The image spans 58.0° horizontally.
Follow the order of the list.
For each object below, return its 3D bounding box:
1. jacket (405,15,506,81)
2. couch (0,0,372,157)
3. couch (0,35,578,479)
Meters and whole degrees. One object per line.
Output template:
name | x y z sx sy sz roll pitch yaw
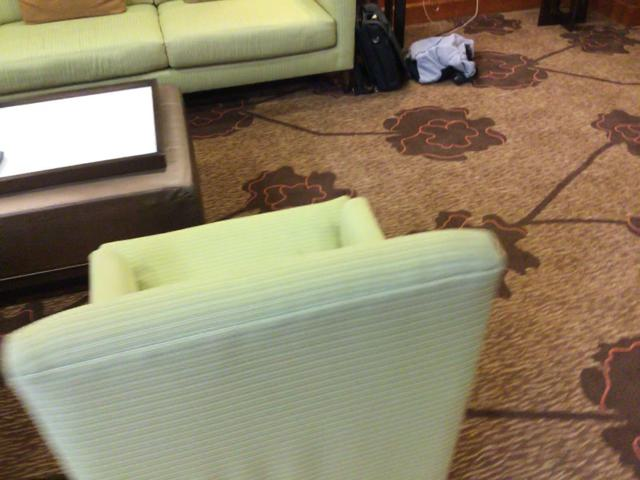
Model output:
jacket | 0.770 -1.130 3.380 0.470 0.210 0.480 -1 38 -1
couch | -1.300 -1.250 3.130 3.050 0.960 0.810 9 40 12
couch | -0.150 0.180 1.320 0.760 0.900 0.950 -10 39 -12
